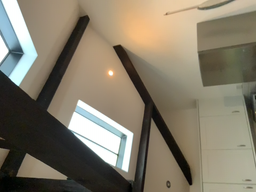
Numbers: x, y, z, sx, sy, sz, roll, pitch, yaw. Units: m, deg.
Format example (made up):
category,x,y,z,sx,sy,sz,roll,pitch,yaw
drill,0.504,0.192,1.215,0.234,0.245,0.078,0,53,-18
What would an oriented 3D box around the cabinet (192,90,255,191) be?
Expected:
category,x,y,z,sx,sy,sz,roll,pitch,yaw
cabinet,1.510,0.850,3.400,0.360,0.810,1.980,58,-147,-48
